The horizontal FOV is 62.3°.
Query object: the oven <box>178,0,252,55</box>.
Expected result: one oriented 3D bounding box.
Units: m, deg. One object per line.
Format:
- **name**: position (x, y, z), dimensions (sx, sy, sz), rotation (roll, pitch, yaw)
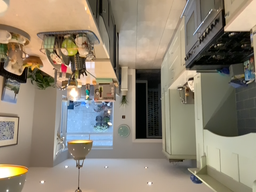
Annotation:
- **oven**: position (0.950, -0.920, 2.450), dimensions (0.590, 0.750, 0.540), rotation (0, 173, 0)
